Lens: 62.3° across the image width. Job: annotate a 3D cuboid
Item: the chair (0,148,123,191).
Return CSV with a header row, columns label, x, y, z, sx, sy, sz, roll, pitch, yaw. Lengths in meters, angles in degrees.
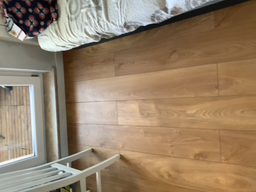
label,x,y,z,sx,sy,sz,roll,pitch,yaw
chair,-0.450,0.630,1.370,0.360,0.890,0.340,-3,90,35
